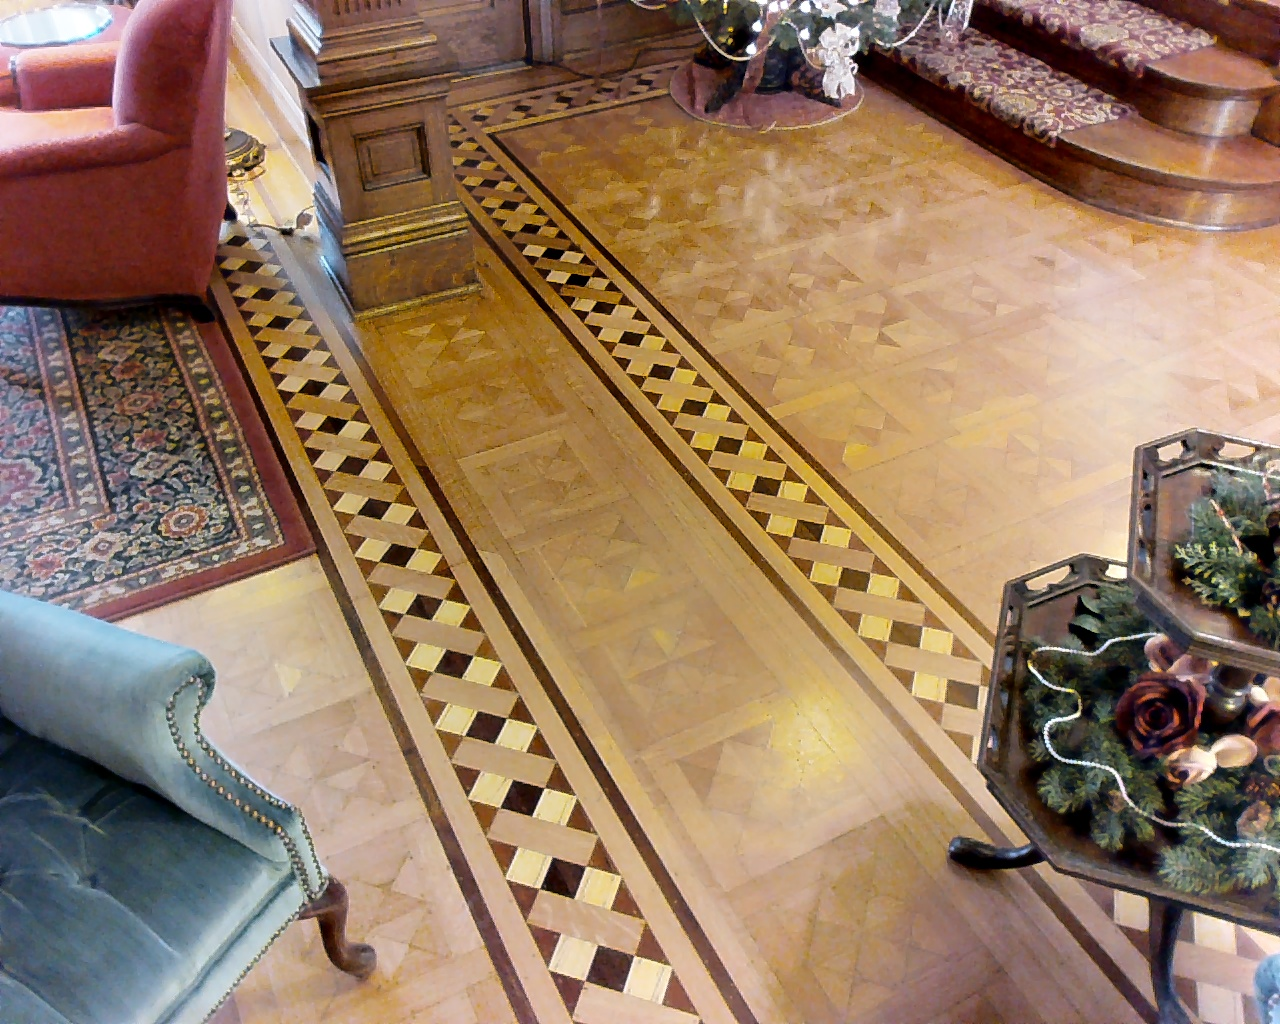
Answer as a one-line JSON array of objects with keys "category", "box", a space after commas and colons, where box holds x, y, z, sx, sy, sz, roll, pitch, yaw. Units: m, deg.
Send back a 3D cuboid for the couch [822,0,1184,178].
[{"category": "couch", "box": [1.250, -1.850, 3.620, 0.760, 0.990, 0.880, -30, 50, -28]}]
